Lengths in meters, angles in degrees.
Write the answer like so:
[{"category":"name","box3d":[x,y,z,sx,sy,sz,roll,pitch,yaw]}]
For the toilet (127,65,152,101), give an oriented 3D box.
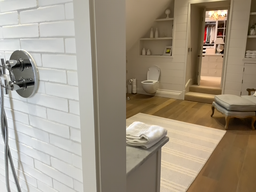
[{"category":"toilet","box3d":[0.320,-0.370,5.830,0.390,0.870,0.630,9,16,30]}]
